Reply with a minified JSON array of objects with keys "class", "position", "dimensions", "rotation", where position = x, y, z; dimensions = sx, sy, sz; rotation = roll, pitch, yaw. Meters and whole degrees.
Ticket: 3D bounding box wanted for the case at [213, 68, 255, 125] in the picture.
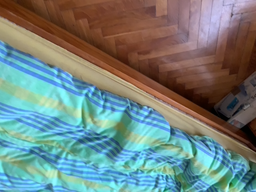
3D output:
[{"class":"case","position":[0.670,0.010,1.230],"dimensions":[0.140,0.150,0.270],"rotation":[25,122,-27]}]
